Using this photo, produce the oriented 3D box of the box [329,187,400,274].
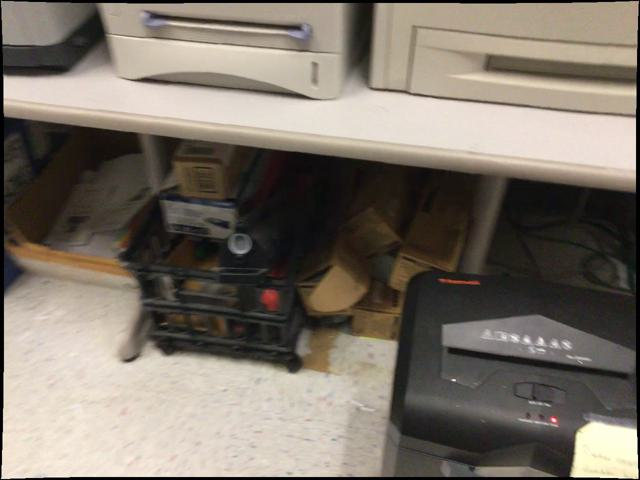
[{"bbox_3d":[0.100,-0.020,1.250,0.140,0.160,0.090,3,39,9],"label":"box"}]
